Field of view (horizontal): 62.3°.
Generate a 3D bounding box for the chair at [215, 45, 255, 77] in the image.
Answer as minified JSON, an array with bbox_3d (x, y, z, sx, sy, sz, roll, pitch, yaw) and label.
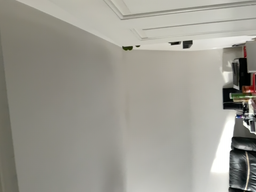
[{"bbox_3d":[1.860,-0.520,3.150,0.390,0.980,0.420,-25,-67,-76],"label":"chair"}]
